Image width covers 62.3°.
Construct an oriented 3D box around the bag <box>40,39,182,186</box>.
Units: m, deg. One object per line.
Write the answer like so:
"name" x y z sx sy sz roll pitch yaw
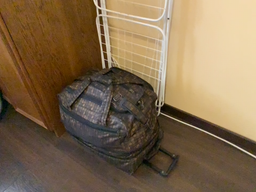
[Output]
"bag" -0.050 0.050 1.250 0.470 0.460 0.600 22 49 28
